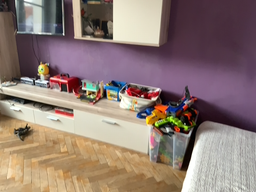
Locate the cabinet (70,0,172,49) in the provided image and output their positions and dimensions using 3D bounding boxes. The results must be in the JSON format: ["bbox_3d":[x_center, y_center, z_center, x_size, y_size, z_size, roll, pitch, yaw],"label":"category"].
[{"bbox_3d":[-0.070,-1.020,1.980,0.920,1.010,0.320,11,24,20],"label":"cabinet"}]

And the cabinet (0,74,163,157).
[{"bbox_3d":[-0.680,0.150,2.630,2.110,0.450,0.450,11,24,20],"label":"cabinet"}]
